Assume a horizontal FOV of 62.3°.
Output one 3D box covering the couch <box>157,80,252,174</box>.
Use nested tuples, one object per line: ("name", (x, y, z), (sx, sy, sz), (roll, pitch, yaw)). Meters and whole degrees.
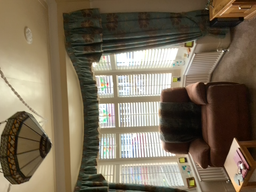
("couch", (1.000, 0.350, 3.060), (1.020, 0.970, 1.090), (-110, 17, -86))
